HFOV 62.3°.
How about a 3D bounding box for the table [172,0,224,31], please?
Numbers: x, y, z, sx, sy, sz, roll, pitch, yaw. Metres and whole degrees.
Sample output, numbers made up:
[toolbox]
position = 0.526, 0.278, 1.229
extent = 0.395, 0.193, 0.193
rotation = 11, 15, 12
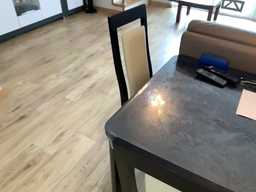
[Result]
[table]
position = 1.350, -1.640, 4.110
extent = 0.690, 0.390, 0.700
rotation = 24, 44, 25
